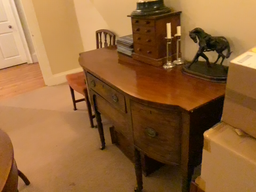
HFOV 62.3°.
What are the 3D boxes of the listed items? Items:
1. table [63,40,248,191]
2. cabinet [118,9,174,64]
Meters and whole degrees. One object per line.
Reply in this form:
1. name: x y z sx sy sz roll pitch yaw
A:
1. table: 0.060 0.110 1.710 0.560 0.820 1.390 -21 31 -26
2. cabinet: 0.130 -0.450 1.550 0.220 0.310 0.350 -21 31 -26
